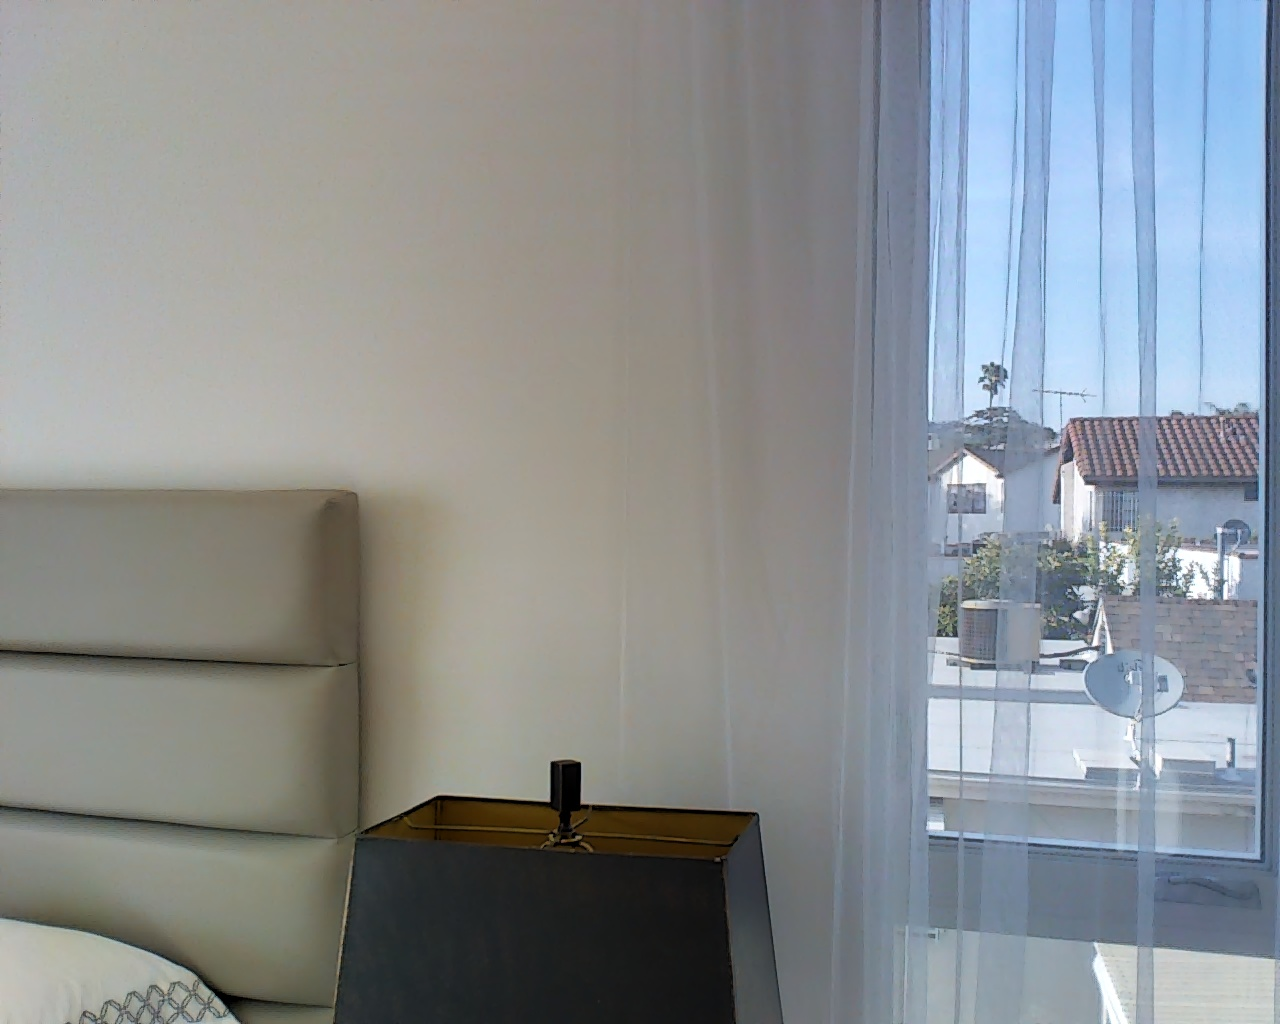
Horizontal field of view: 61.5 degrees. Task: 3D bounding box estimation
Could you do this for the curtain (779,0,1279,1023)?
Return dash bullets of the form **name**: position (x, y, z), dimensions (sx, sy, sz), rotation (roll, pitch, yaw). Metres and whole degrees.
- **curtain**: position (0.590, 0.190, 1.270), dimensions (0.800, 2.711, 0.390), rotation (0, 0, 15)
